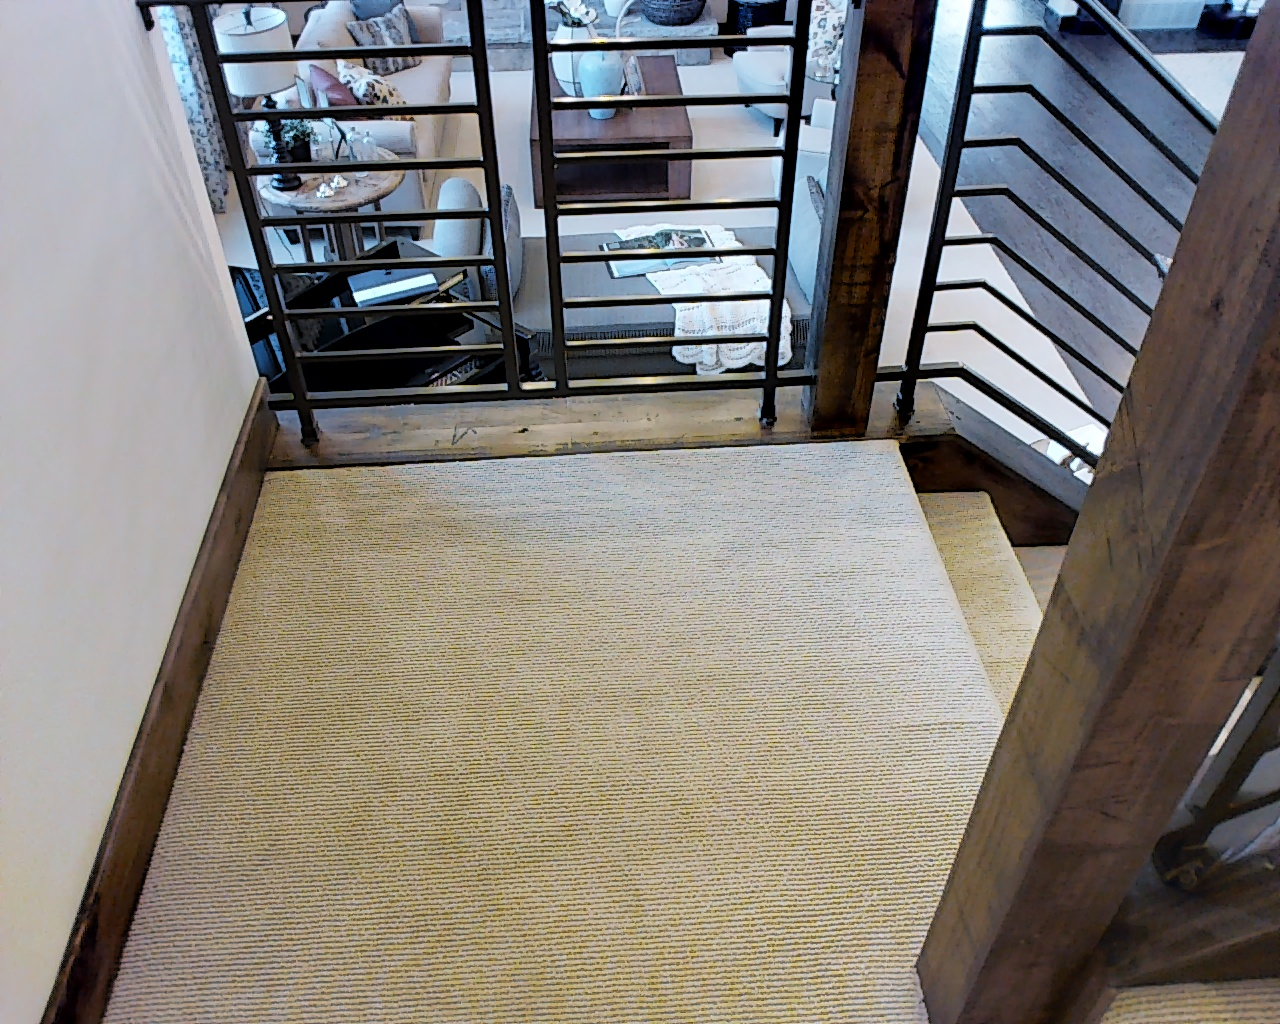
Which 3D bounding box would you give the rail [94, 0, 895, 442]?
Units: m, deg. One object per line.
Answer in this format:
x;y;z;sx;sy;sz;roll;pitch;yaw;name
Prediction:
-0.220;-0.580;2.020;1.280;0.960;0.120;-3;42;-3;rail
